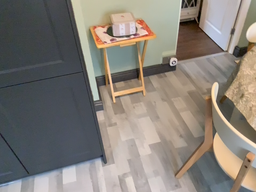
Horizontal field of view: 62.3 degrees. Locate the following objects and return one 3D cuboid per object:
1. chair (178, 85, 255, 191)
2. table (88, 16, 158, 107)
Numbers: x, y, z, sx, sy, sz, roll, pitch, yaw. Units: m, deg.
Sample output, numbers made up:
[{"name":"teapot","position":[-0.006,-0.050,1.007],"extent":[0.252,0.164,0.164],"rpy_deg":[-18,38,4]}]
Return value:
[{"name":"chair","position":[0.590,0.380,1.100],"extent":[0.450,0.800,0.390],"rpy_deg":[-8,42,-6]},{"name":"table","position":[-0.040,-0.310,1.960],"extent":[0.500,0.650,0.370],"rpy_deg":[-12,43,-10]}]
